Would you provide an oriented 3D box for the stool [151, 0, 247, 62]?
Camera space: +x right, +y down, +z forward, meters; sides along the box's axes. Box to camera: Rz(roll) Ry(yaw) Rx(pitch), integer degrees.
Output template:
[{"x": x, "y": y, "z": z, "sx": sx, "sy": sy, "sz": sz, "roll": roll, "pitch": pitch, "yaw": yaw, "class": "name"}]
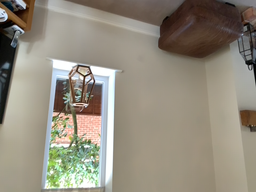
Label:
[{"x": 0.720, "y": -0.720, "z": 2.280, "sx": 0.680, "sy": 0.390, "sz": 0.670, "roll": 7, "pitch": 165, "yaw": -24, "class": "stool"}]
